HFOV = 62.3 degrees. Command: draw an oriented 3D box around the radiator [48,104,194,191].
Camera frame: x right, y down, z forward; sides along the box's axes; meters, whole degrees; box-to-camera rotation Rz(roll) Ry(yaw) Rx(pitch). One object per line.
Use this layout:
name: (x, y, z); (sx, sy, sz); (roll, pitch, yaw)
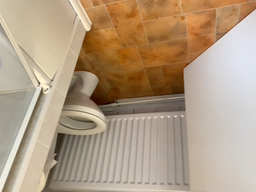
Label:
radiator: (-0.040, 0.400, 1.660); (1.020, 0.680, 0.120); (-3, 146, 14)

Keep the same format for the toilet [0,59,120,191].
toilet: (-0.470, 0.220, 1.570); (0.630, 0.870, 0.390); (-5, 145, 17)
